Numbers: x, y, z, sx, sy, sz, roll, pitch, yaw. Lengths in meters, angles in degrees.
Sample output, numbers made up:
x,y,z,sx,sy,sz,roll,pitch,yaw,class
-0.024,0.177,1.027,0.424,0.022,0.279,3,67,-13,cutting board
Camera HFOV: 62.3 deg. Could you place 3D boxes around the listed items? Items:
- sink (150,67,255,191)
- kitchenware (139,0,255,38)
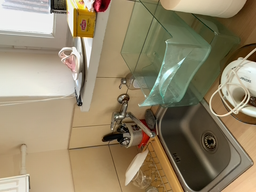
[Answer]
x,y,z,sx,sy,sz,roll,pitch,yaw,class
0.350,0.180,0.990,0.480,0.200,0.410,-114,32,-40,sink
0.220,-0.340,0.690,0.240,0.260,0.180,-116,34,-43,kitchenware
